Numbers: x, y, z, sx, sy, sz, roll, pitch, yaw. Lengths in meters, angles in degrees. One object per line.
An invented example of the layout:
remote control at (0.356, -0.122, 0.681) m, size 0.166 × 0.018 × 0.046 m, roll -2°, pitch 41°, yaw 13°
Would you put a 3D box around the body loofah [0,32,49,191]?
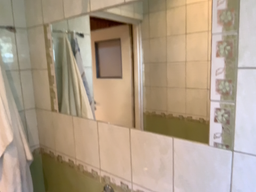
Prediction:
body loofah at (-0.660, 0.230, 1.190) m, size 0.180 × 1.120 × 0.290 m, roll 6°, pitch 12°, yaw 42°
